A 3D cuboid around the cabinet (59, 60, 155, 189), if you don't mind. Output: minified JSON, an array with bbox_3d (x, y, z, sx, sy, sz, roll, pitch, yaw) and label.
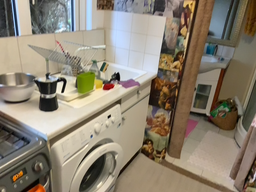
[{"bbox_3d":[-0.200,0.210,1.980,0.610,0.900,0.550,18,26,26],"label":"cabinet"}]
